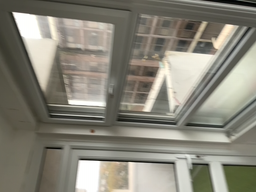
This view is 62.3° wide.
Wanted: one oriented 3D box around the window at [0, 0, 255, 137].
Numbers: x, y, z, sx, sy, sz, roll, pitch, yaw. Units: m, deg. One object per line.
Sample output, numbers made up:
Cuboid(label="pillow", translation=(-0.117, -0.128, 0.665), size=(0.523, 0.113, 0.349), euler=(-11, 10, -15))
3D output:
Cuboid(label="window", translation=(0.310, -0.630, 0.430), size=(3.380, 1.580, 0.080), euler=(104, 169, -56))

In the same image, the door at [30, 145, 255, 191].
Cuboid(label="door", translation=(0.340, 0.710, 1.660), size=(0.050, 2.090, 0.560), euler=(105, 168, -60))
